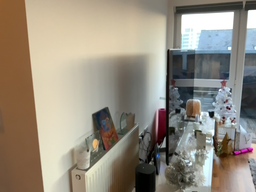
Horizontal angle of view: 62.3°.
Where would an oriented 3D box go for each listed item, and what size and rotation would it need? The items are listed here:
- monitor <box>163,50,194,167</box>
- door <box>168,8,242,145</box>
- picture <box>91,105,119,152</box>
[{"bbox_3d":[0.550,-0.020,2.150,0.040,0.870,1.380,4,12,23],"label":"monitor"},{"bbox_3d":[1.200,-0.270,3.500,1.030,2.140,0.060,4,12,21],"label":"door"},{"bbox_3d":[-0.160,0.230,1.540,0.040,0.280,0.220,-12,7,22],"label":"picture"}]
